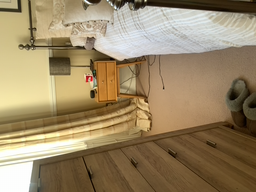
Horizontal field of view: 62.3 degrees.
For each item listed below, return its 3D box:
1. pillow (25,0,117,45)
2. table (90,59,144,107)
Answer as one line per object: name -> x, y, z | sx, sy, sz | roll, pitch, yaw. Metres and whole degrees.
pillow -> -0.550, -0.830, 1.840 | 1.160, 0.560, 0.670 | -157, 65, -67
table -> -0.140, -0.190, 2.640 | 0.380, 0.570, 0.530 | -156, 63, -67
